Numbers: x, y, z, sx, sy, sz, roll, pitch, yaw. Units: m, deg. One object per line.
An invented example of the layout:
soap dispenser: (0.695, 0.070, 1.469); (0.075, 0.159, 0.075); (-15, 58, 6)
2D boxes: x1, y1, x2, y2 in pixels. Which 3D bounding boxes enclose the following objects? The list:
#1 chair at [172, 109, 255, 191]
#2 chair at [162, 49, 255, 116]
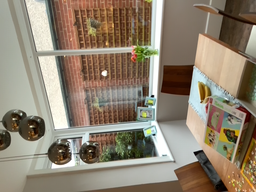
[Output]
chair: (0.960, 0.530, 1.980); (0.460, 0.940, 0.600); (-107, 14, -60)
chair: (0.890, -0.160, 2.160); (0.510, 0.940, 0.420); (-105, 13, -57)
